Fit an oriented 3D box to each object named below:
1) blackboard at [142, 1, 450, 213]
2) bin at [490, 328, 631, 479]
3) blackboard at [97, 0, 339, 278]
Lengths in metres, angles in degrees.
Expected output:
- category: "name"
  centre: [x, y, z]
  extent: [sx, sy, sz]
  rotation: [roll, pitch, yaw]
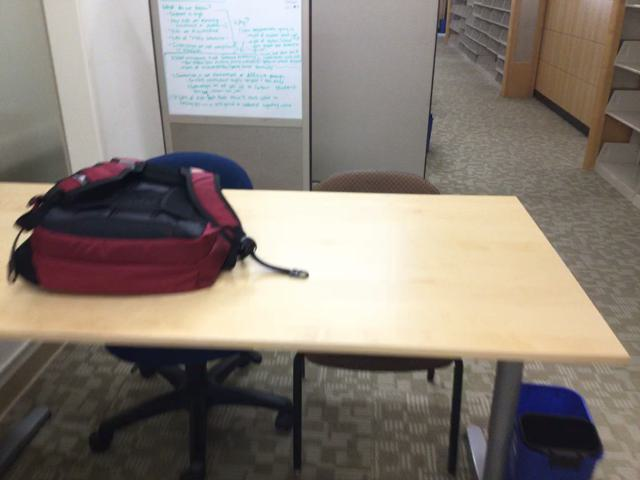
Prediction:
- category: "blackboard"
  centre: [-0.100, -0.780, 3.570]
  extent: [1.710, 1.160, 0.370]
  rotation: [0, 26, 9]
- category: "bin"
  centre: [0.600, 0.520, 1.520]
  extent: [0.230, 0.460, 0.330]
  rotation: [0, 26, 9]
- category: "blackboard"
  centre: [-0.410, -0.530, 2.750]
  extent: [0.880, 1.400, 0.400]
  rotation: [0, 26, 9]
